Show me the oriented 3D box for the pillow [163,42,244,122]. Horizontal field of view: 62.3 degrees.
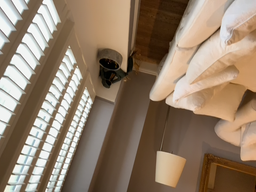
[{"bbox_3d":[0.610,-0.100,1.830,0.290,0.460,0.500,52,164,22],"label":"pillow"}]
